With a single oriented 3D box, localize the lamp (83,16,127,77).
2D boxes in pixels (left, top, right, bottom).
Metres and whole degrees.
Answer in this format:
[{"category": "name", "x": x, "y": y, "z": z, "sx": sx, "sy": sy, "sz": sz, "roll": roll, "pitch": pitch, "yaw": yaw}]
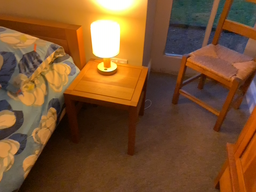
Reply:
[{"category": "lamp", "x": -0.140, "y": -0.320, "z": 1.370, "sx": 0.200, "sy": 0.290, "sz": 0.230, "roll": 11, "pitch": 41, "yaw": 8}]
